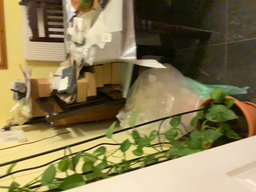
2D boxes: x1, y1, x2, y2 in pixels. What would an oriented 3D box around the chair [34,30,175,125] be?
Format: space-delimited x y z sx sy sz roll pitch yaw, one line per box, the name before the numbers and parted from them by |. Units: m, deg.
chair | -0.180 -0.170 1.720 0.440 1.000 0.550 30 117 51
